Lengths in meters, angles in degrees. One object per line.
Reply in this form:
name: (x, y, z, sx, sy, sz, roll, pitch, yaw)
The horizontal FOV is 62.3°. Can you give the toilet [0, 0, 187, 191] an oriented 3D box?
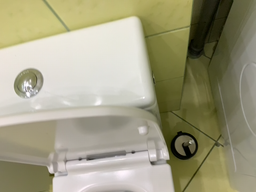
toilet: (-0.040, 0.290, 0.610, 0.380, 0.800, 0.610, -11, 72, 8)
